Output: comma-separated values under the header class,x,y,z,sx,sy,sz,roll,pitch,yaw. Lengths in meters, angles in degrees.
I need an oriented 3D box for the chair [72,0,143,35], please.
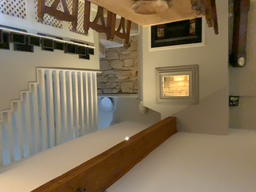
class,x,y,z,sx,sy,sz,roll,pitch,yaw
chair,-0.200,-1.180,2.080,0.510,0.990,0.470,1,-175,29
